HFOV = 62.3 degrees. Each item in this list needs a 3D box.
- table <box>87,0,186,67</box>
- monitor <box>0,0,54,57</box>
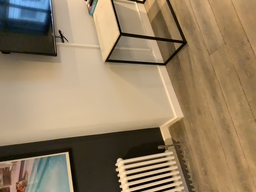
[{"bbox_3d":[0.040,-0.880,2.310,0.410,0.770,1.050,-48,50,53],"label":"table"},{"bbox_3d":[-0.960,-0.770,1.870,0.050,0.530,0.940,-47,48,51],"label":"monitor"}]
